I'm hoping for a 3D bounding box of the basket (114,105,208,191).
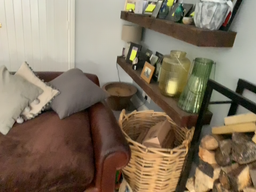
[{"bbox_3d":[0.210,0.440,1.800,0.530,0.500,0.630,1,24,-14],"label":"basket"}]

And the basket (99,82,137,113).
[{"bbox_3d":[-0.160,0.010,2.950,0.420,0.270,0.410,-1,24,-18],"label":"basket"}]
